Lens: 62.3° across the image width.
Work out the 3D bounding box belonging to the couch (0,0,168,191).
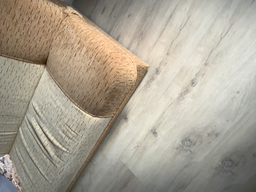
[{"bbox_3d":[-0.750,0.390,1.300,0.840,0.740,1.940,41,113,23],"label":"couch"}]
